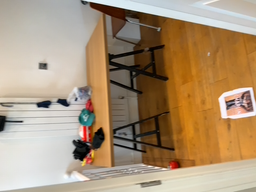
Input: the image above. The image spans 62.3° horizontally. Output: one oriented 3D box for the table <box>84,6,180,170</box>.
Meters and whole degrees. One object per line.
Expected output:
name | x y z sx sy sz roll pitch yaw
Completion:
table | -0.040 -0.040 2.500 0.830 0.730 1.590 150 118 -63
